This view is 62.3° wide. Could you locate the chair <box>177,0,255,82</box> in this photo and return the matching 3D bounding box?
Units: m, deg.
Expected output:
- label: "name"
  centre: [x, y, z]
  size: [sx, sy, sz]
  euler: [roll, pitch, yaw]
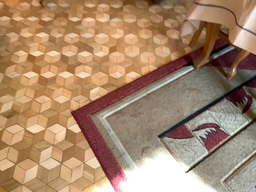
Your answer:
- label: "chair"
  centre: [0.730, -0.630, 1.320]
  size: [0.350, 0.970, 0.510]
  euler: [-31, 63, -23]
